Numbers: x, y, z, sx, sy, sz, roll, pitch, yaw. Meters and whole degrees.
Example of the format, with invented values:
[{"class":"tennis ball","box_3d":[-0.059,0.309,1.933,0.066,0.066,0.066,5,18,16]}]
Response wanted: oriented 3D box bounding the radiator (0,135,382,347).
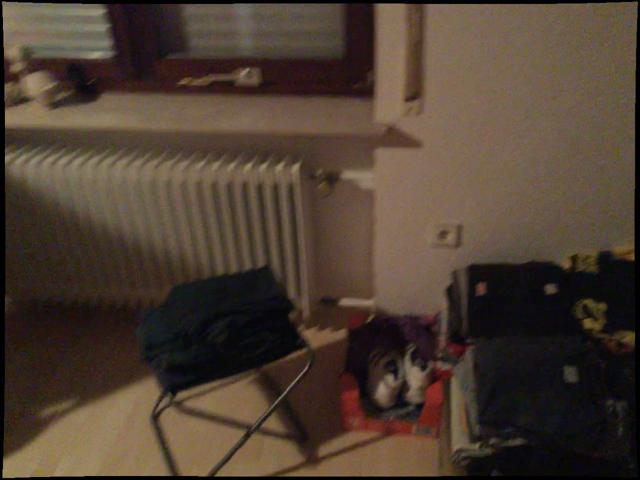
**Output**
[{"class":"radiator","box_3d":[-0.749,-0.010,2.070,1.908,0.660,0.240,3,34,7]}]
